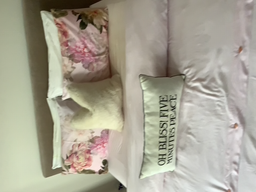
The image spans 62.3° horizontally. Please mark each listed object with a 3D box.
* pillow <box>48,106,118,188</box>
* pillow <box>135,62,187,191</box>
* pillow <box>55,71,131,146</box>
[{"bbox_3d":[-0.380,0.450,1.920,0.150,0.440,0.560,14,127,52],"label":"pillow"},{"bbox_3d":[0.180,0.160,1.130,0.160,0.200,0.660,10,106,54],"label":"pillow"},{"bbox_3d":[-0.260,0.080,1.650,0.250,0.390,0.400,12,131,52],"label":"pillow"}]
